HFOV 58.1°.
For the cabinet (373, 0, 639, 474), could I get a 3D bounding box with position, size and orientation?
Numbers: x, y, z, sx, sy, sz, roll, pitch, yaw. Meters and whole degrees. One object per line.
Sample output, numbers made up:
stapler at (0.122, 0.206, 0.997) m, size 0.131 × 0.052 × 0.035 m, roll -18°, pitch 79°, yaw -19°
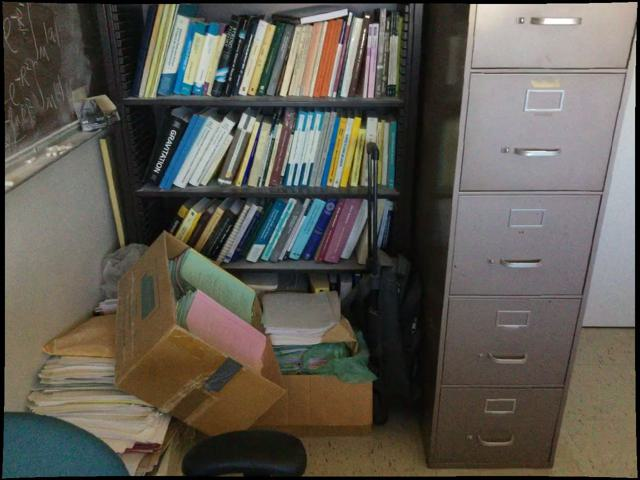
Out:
cabinet at (0.489, -0.170, 1.800) m, size 0.479 × 1.593 × 0.780 m, roll 0°, pitch 24°, yaw -2°
